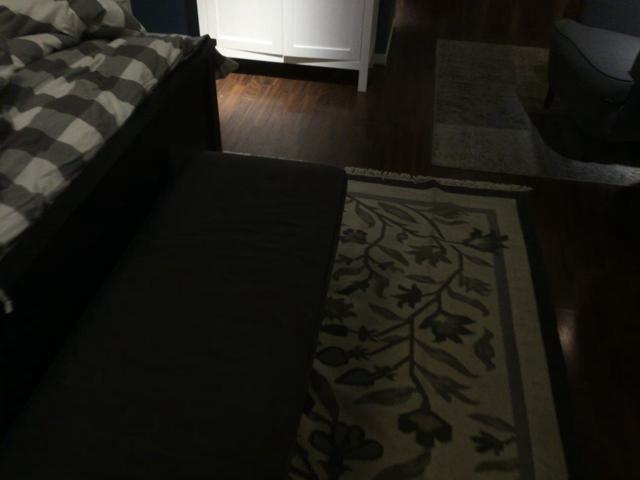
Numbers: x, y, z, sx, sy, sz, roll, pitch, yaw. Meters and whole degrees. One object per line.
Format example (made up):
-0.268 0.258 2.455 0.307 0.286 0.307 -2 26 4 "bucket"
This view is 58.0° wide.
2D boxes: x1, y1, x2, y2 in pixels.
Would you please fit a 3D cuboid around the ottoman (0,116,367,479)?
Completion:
-0.240 0.320 1.230 0.540 0.440 1.440 6 43 5 "ottoman"
